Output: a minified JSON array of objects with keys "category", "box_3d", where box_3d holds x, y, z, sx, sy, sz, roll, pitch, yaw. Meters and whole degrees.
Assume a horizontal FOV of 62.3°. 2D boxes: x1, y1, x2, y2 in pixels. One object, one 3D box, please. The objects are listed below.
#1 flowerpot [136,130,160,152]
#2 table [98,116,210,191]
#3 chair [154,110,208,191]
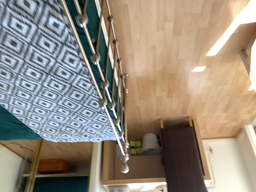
[{"category":"flowerpot","box_3d":[0.290,0.660,3.090,0.320,0.210,0.250,-4,146,4]},{"category":"table","box_3d":[0.300,0.800,2.830,1.240,0.750,0.650,-4,146,4]},{"category":"chair","box_3d":[0.590,0.770,2.580,0.440,1.000,0.610,-5,145,5]}]
